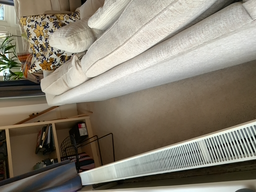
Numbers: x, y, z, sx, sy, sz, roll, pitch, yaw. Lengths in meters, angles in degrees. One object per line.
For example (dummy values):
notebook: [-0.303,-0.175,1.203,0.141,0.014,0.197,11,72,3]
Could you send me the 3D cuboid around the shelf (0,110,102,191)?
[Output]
shelf: [-1.120,0.690,2.620,0.440,1.380,0.810,-38,63,50]
